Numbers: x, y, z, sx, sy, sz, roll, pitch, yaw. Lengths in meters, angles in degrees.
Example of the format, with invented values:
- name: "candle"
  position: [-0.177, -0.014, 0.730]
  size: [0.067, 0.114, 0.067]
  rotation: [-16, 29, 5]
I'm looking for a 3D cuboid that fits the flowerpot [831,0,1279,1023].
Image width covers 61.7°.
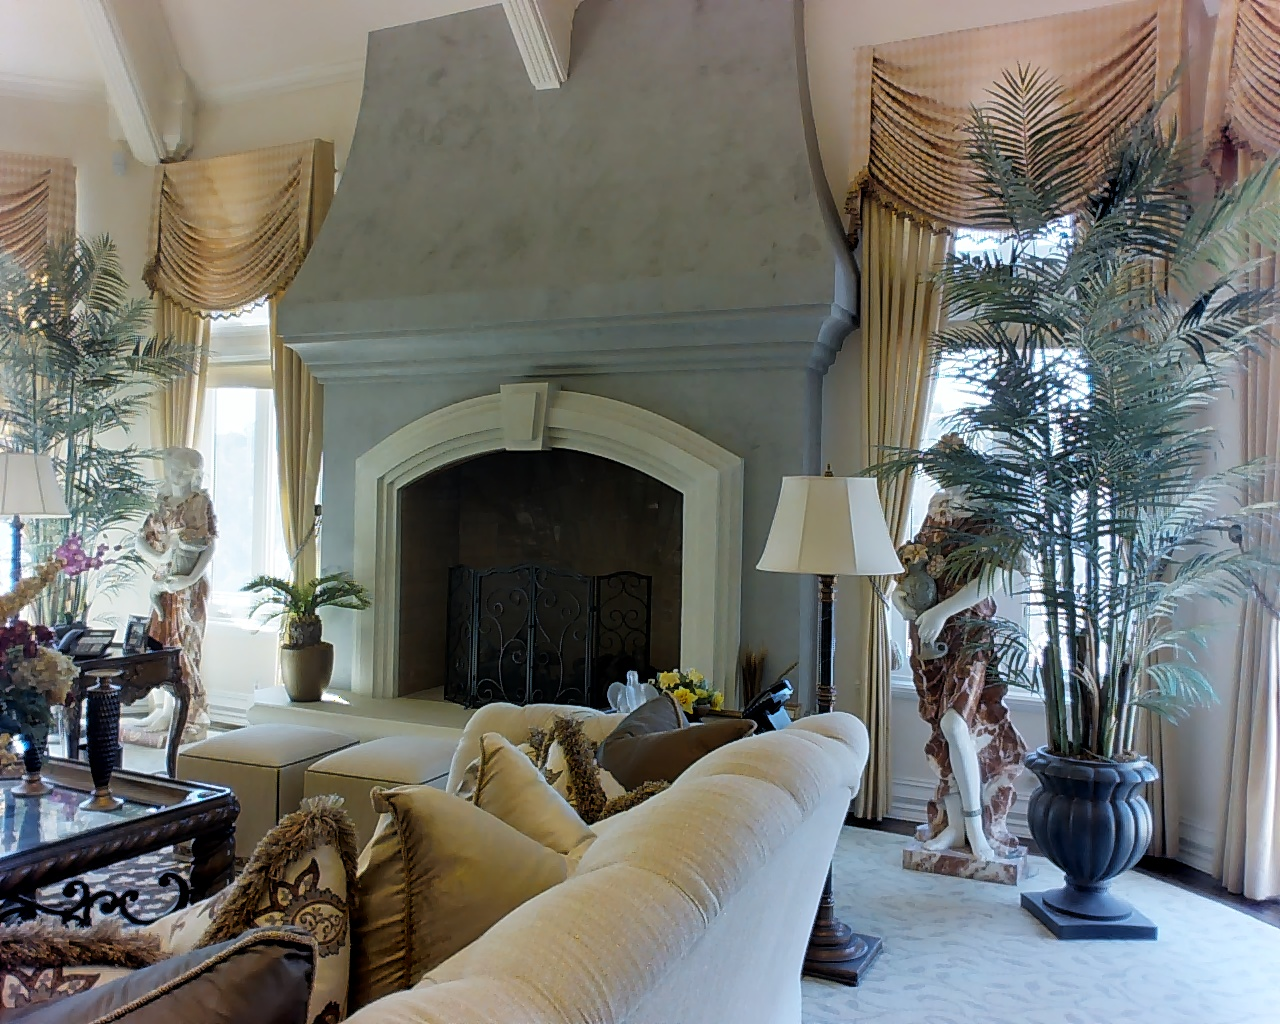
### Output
- name: "flowerpot"
  position: [1.610, -0.050, 3.950]
  size: [1.420, 3.150, 1.300]
  rotation: [1, 0, 26]

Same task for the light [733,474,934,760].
- name: "light"
  position: [0.650, 0.310, 3.530]
  size: [0.510, 0.850, 0.520]
  rotation: [1, 0, 26]

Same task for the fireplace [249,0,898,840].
- name: "fireplace"
  position: [-0.520, -0.620, 5.920]
  size: [3.640, 4.119, 0.690]
  rotation: [1, 0, 26]
